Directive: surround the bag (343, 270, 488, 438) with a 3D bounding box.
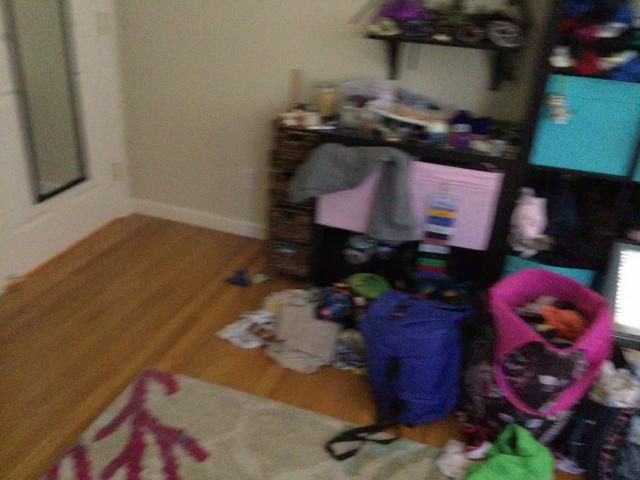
[{"bbox_3d":[0.330,0.380,2.010,0.390,0.380,0.300,13,27,19],"label":"bag"}]
